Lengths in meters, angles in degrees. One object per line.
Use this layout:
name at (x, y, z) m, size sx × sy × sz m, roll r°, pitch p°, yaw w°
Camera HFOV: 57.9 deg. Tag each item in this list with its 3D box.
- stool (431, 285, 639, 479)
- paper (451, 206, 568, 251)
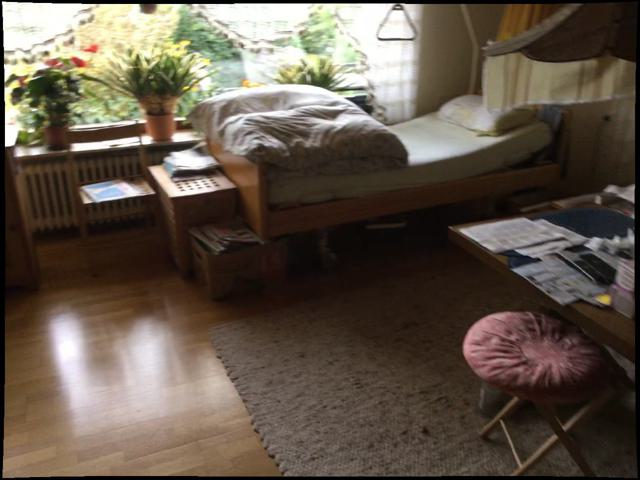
stool at (0.729, 0.511, 1.890) m, size 0.530 × 0.480 × 0.440 m, roll -11°, pitch 28°, yaw -21°
paper at (0.709, -0.050, 2.180) m, size 0.340 × 0.020 × 0.250 m, roll -11°, pitch 28°, yaw -21°
